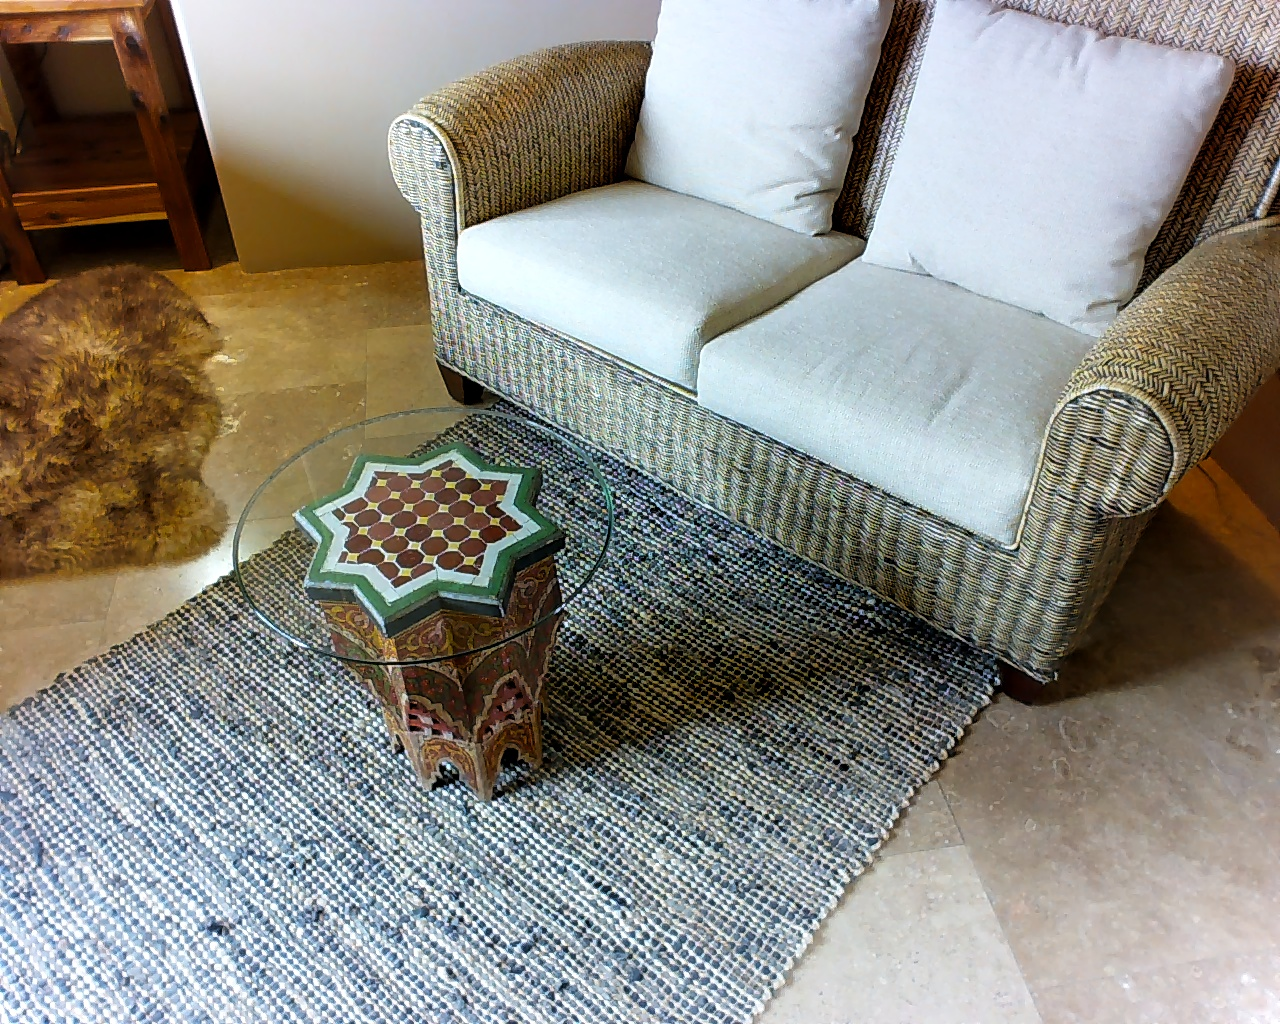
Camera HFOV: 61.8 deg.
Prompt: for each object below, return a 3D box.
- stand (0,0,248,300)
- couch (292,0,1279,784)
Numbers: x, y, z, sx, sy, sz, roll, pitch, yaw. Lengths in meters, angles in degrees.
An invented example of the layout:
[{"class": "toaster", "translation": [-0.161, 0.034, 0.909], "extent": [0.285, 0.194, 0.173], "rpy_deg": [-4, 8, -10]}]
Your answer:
[{"class": "stand", "translation": [-1.440, -1.020, 2.790], "extent": [0.600, 0.670, 0.590], "rpy_deg": [-6, 42, -7]}, {"class": "couch", "translation": [0.350, -0.570, 2.040], "extent": [1.650, 1.050, 1.030], "rpy_deg": [28, 49, 27]}]
